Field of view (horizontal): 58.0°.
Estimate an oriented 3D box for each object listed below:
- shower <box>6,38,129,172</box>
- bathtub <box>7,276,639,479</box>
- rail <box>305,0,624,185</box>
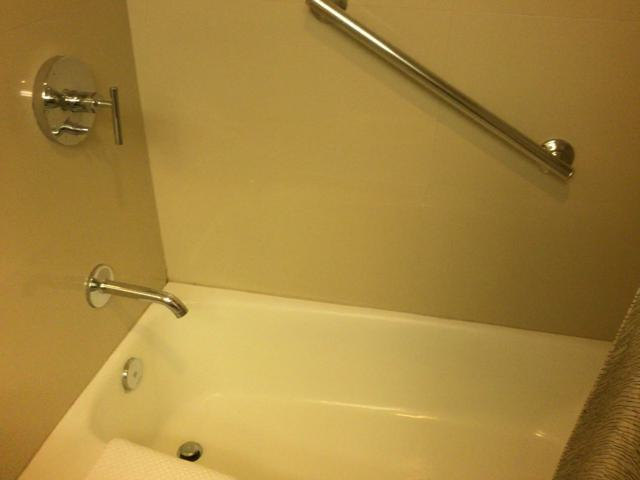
[{"bbox_3d":[-0.490,-0.280,1.160,0.050,0.190,0.280,6,30,10],"label":"shower"},{"bbox_3d":[0.170,0.530,1.360,1.420,0.390,0.760,6,30,10],"label":"bathtub"},{"bbox_3d":[0.270,-0.320,1.230,0.600,0.360,0.070,6,30,10],"label":"rail"}]
